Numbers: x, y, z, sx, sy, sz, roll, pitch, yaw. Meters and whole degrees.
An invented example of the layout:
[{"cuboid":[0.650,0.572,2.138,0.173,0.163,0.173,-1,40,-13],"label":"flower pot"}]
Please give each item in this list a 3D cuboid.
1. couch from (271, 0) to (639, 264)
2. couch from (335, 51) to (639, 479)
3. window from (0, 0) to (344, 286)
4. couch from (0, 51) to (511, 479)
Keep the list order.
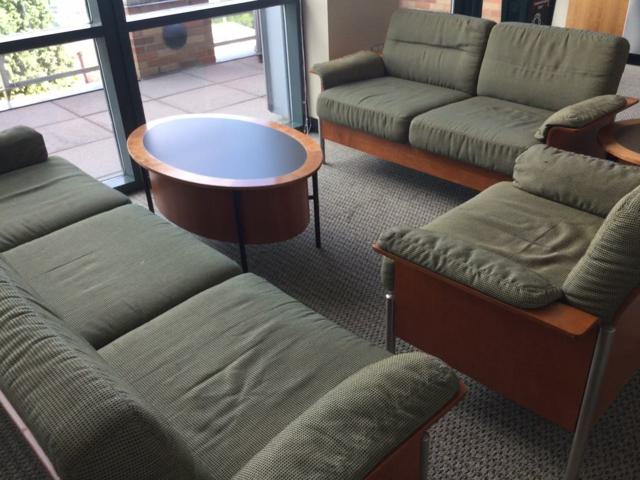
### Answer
[{"cuboid":[0.650,-0.680,2.920,0.780,0.750,1.760,-30,39,-32],"label":"couch"},{"cuboid":[0.710,0.010,1.690,1.050,0.760,0.740,-30,39,-32],"label":"couch"},{"cuboid":[-0.940,-0.930,2.760,2.350,1.570,0.440,-30,39,-32],"label":"window"},{"cuboid":[-0.660,0.100,1.700,0.730,0.850,2.220,-30,39,-32],"label":"couch"}]
